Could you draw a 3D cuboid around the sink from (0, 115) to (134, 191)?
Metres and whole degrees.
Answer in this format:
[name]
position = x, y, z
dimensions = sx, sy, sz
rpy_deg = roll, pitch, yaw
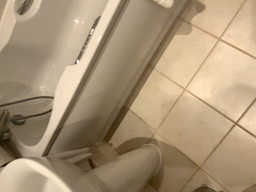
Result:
[sink]
position = -0.250, 0.450, 0.770
dimensions = 0.580, 0.200, 0.490
rpy_deg = 38, 110, 23
